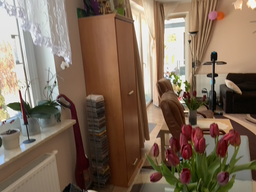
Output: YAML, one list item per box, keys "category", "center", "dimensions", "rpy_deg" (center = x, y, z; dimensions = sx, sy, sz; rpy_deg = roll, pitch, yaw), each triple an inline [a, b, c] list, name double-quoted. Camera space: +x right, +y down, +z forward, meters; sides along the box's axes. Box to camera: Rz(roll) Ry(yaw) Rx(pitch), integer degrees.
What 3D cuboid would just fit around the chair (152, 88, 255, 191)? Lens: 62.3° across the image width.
- category: "chair"
  center: [0.720, 0.490, 2.240]
  dimensions: [0.850, 1.020, 0.660]
  rpy_deg: [-2, 12, 10]
